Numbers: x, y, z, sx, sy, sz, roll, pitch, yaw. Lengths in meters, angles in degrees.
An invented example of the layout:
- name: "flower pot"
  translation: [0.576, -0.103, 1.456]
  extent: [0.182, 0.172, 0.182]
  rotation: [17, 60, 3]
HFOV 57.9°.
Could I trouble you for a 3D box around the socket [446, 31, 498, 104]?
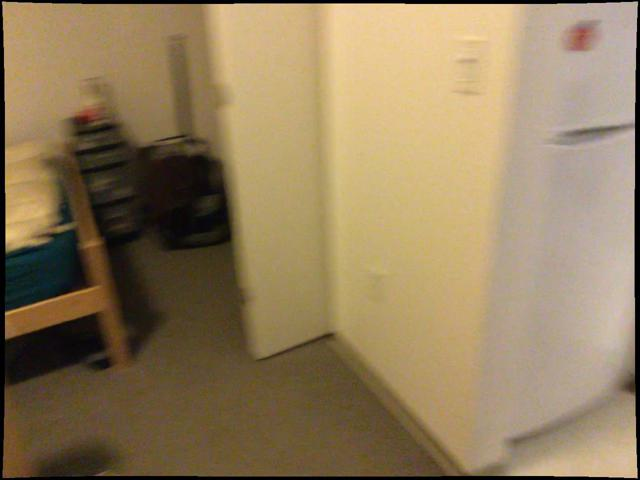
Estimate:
- name: "socket"
  translation: [0.330, -0.380, 1.270]
  extent: [0.020, 0.130, 0.130]
  rotation: [-17, 32, -23]
